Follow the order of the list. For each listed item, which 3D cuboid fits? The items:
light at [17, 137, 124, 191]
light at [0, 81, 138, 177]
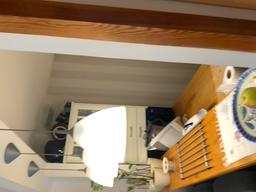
[{"bbox_3d":[-0.410,0.560,1.700,0.310,0.730,0.350,102,169,-57],"label":"light"},{"bbox_3d":[-0.310,0.140,0.900,0.250,0.650,0.320,102,166,-59],"label":"light"}]
